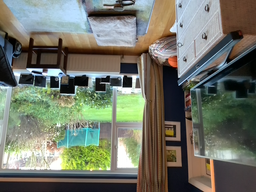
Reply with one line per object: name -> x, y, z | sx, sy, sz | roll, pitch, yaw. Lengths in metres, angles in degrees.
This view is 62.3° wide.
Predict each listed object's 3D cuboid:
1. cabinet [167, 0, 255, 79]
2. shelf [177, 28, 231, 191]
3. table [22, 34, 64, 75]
cabinet -> 0.660, -0.680, 1.650 | 0.480, 0.870, 0.880 | 1, 168, -3
shelf -> 1.010, 0.200, 3.040 | 0.290, 2.060, 0.900 | 1, 168, -3
table -> -1.260, -0.610, 3.190 | 0.450, 0.470, 0.380 | 1, 168, -3
